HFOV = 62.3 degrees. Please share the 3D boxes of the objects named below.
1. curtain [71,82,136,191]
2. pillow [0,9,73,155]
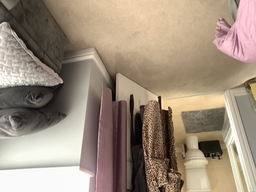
[{"bbox_3d":[-0.140,0.830,1.230,0.240,1.890,0.360,-18,146,27],"label":"curtain"},{"bbox_3d":[-0.710,-0.080,1.360,0.490,0.790,0.400,-7,150,10],"label":"pillow"}]
